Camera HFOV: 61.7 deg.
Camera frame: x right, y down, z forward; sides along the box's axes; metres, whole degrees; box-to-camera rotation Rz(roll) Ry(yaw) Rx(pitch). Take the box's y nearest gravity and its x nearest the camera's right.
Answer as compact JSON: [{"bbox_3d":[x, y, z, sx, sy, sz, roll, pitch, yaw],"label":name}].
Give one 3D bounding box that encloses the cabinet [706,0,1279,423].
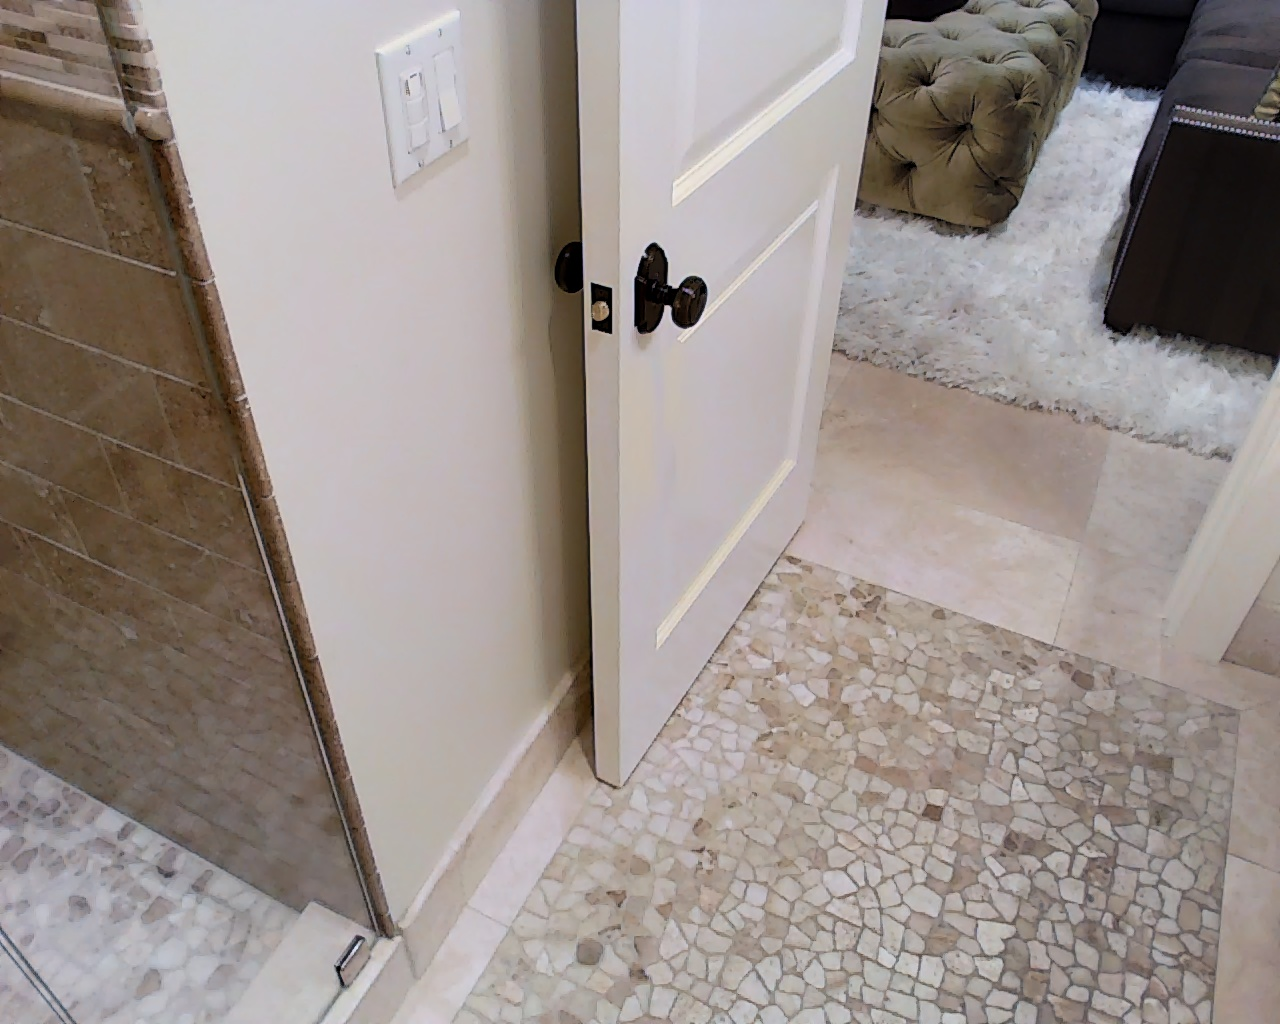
[{"bbox_3d":[0.960,-0.990,2.640,1.420,1.030,0.610,19,45,19],"label":"cabinet"}]
